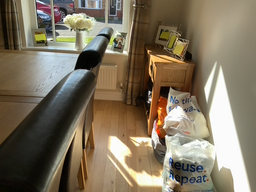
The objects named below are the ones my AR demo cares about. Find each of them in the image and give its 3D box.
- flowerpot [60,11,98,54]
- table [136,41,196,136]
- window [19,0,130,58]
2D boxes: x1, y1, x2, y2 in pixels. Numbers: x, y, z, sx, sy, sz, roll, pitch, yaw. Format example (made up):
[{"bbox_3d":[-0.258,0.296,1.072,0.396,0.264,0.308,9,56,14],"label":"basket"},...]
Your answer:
[{"bbox_3d":[-0.590,-0.780,2.580,0.300,0.440,0.340,-17,31,-38],"label":"flowerpot"},{"bbox_3d":[0.340,-0.130,2.320,0.400,0.760,0.830,2,24,-3],"label":"table"},{"bbox_3d":[-0.620,-1.280,2.550,1.290,1.540,0.230,2,24,-4],"label":"window"}]
